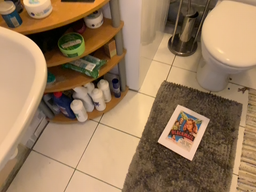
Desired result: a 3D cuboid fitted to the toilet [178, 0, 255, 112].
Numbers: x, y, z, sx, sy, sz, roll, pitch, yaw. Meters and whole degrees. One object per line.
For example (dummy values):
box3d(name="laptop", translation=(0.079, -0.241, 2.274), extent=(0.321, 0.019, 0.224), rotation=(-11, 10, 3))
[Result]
box3d(name="toilet", translation=(0.610, -0.400, 1.190), extent=(0.360, 0.750, 0.650), rotation=(18, 63, 12))
